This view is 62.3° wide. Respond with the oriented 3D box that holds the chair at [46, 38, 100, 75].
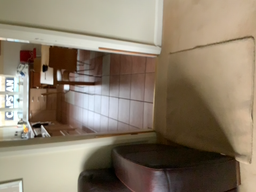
[{"bbox_3d":[-0.940,-0.640,3.620,0.510,0.780,0.470,0,89,60],"label":"chair"}]
